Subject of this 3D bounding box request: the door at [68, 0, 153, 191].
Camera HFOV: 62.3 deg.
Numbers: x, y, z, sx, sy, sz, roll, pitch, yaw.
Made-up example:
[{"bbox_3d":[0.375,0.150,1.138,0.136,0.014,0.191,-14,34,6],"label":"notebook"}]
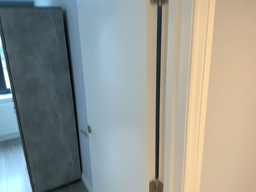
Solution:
[{"bbox_3d":[-0.120,0.340,1.210,0.020,2.070,0.810,-12,20,-29],"label":"door"}]
